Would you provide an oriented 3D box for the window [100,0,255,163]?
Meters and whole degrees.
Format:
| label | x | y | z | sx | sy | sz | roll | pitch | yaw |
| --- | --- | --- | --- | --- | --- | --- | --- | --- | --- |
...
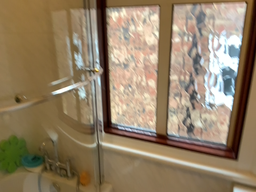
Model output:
| label | x | y | z | sx | sy | sz | roll | pitch | yaw |
| --- | --- | --- | --- | --- | --- | --- | --- | --- | --- |
| window | 0.200 | -0.430 | 1.000 | 0.710 | 1.510 | 0.090 | 7 | 20 | 22 |
